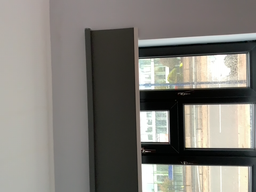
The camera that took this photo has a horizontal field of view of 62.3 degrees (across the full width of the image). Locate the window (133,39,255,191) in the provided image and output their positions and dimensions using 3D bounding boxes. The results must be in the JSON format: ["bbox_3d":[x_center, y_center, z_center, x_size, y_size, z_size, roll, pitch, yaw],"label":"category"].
[{"bbox_3d":[0.610,0.270,1.860,0.160,1.110,1.450,-9,-81,-82],"label":"window"}]
